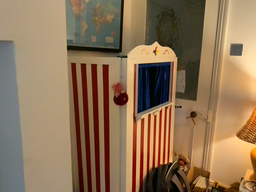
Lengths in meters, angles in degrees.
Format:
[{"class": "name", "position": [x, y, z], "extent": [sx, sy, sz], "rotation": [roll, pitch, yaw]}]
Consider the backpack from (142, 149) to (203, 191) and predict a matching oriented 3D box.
[{"class": "backpack", "position": [0.380, 0.790, 1.780], "extent": [0.320, 0.460, 0.500], "rotation": [9, 14, 32]}]
